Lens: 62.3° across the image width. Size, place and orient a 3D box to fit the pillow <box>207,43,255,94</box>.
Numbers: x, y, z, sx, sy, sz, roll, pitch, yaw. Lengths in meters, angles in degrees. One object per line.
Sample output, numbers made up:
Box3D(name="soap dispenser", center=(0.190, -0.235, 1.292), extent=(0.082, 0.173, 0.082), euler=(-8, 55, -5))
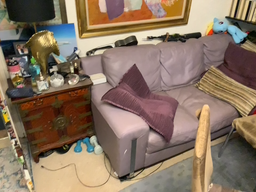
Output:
Box3D(name="pillow", center=(1.260, -0.330, 2.330), extent=(0.370, 0.280, 0.610), euler=(-16, 37, -25))

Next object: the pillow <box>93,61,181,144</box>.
Box3D(name="pillow", center=(0.110, 0.010, 1.860), extent=(0.600, 0.330, 0.640), euler=(10, 34, 13))

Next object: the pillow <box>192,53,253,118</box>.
Box3D(name="pillow", center=(0.960, -0.100, 2.230), extent=(0.190, 0.300, 0.620), euler=(-32, 72, -2))
